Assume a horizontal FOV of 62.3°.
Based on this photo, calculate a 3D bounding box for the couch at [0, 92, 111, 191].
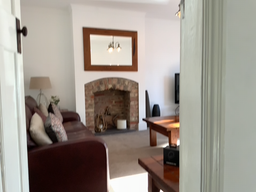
[{"bbox_3d":[-1.030,0.450,2.800,1.050,0.870,2.250,-3,5,-19],"label":"couch"}]

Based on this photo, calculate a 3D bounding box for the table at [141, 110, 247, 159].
[{"bbox_3d":[1.030,0.550,3.420,1.410,0.470,0.810,-3,5,-20],"label":"table"}]

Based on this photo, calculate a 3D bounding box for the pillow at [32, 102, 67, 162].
[{"bbox_3d":[-0.770,0.330,2.070,0.250,0.340,0.460,-7,28,-23],"label":"pillow"}]
